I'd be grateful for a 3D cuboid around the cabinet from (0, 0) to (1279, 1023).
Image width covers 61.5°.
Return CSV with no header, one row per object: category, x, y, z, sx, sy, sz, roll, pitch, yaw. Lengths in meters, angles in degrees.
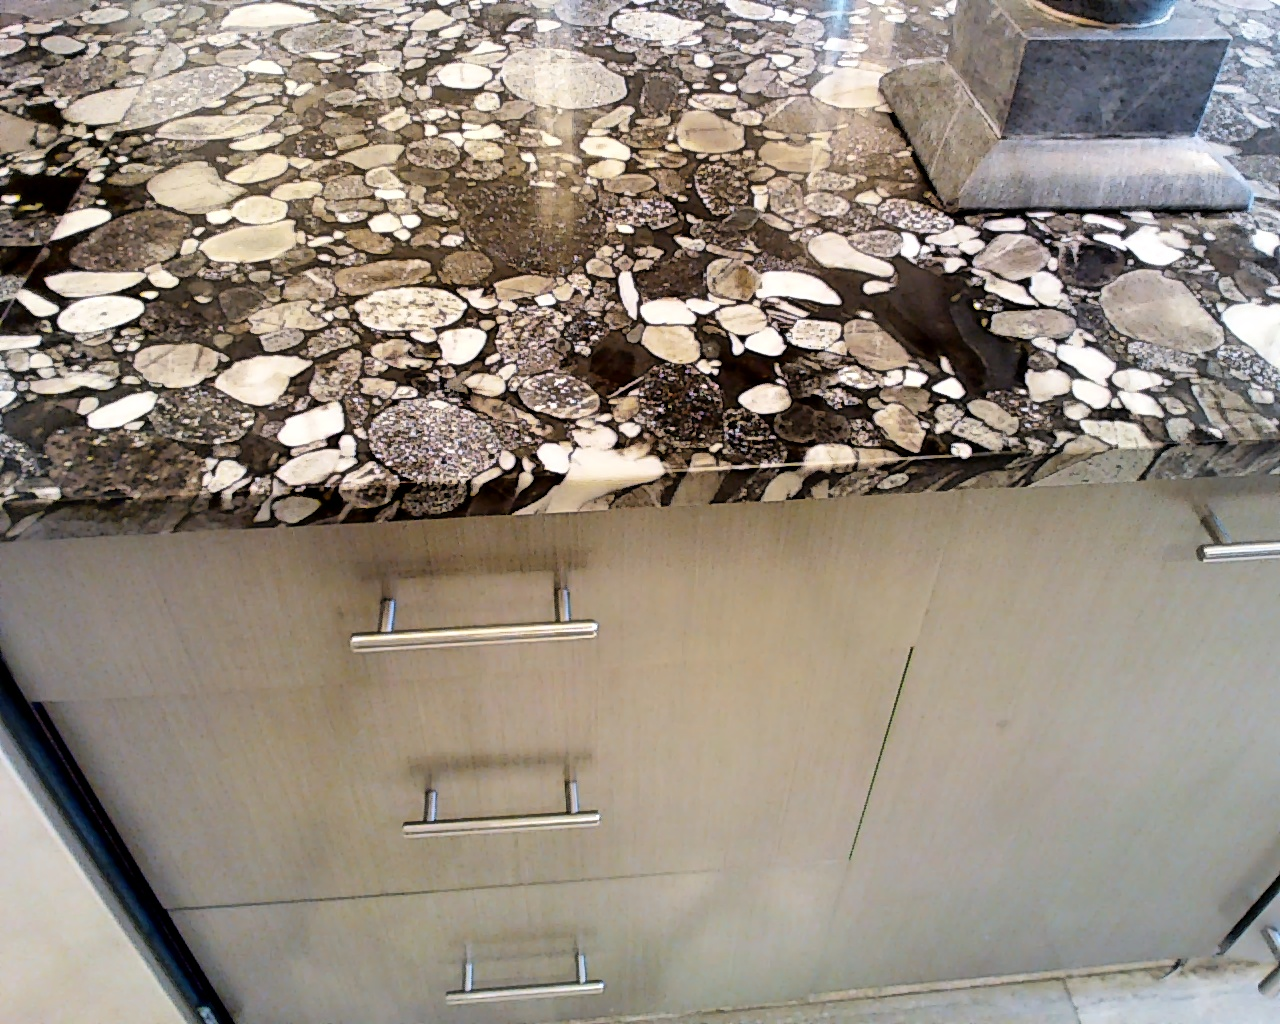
cabinet,0.390,-0.010,1.260,2.620,0.950,1.020,-3,43,-4
